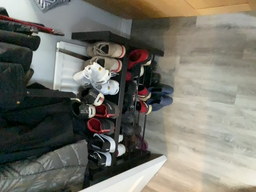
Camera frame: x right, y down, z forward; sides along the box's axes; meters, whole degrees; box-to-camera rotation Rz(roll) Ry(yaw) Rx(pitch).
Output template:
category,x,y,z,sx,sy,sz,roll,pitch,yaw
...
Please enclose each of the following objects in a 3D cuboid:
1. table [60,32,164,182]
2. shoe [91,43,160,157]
category,x,y,z,sx,sy,sz,roll,pitch,yaw
table,-0.100,0.050,1.550,0.370,0.560,0.880,12,98,37
shoe,-0.020,0.020,1.410,0.240,0.220,0.670,19,102,36
